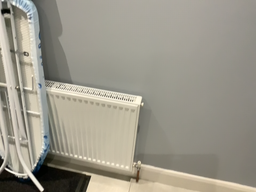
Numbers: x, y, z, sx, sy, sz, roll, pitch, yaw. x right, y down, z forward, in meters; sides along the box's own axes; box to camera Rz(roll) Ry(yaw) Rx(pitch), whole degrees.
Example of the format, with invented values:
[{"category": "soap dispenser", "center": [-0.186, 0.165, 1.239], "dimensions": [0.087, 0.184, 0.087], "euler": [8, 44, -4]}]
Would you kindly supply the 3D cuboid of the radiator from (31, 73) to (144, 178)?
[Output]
[{"category": "radiator", "center": [-0.240, 0.230, 1.360], "dimensions": [0.600, 0.720, 0.090], "euler": [9, 38, 5]}]
